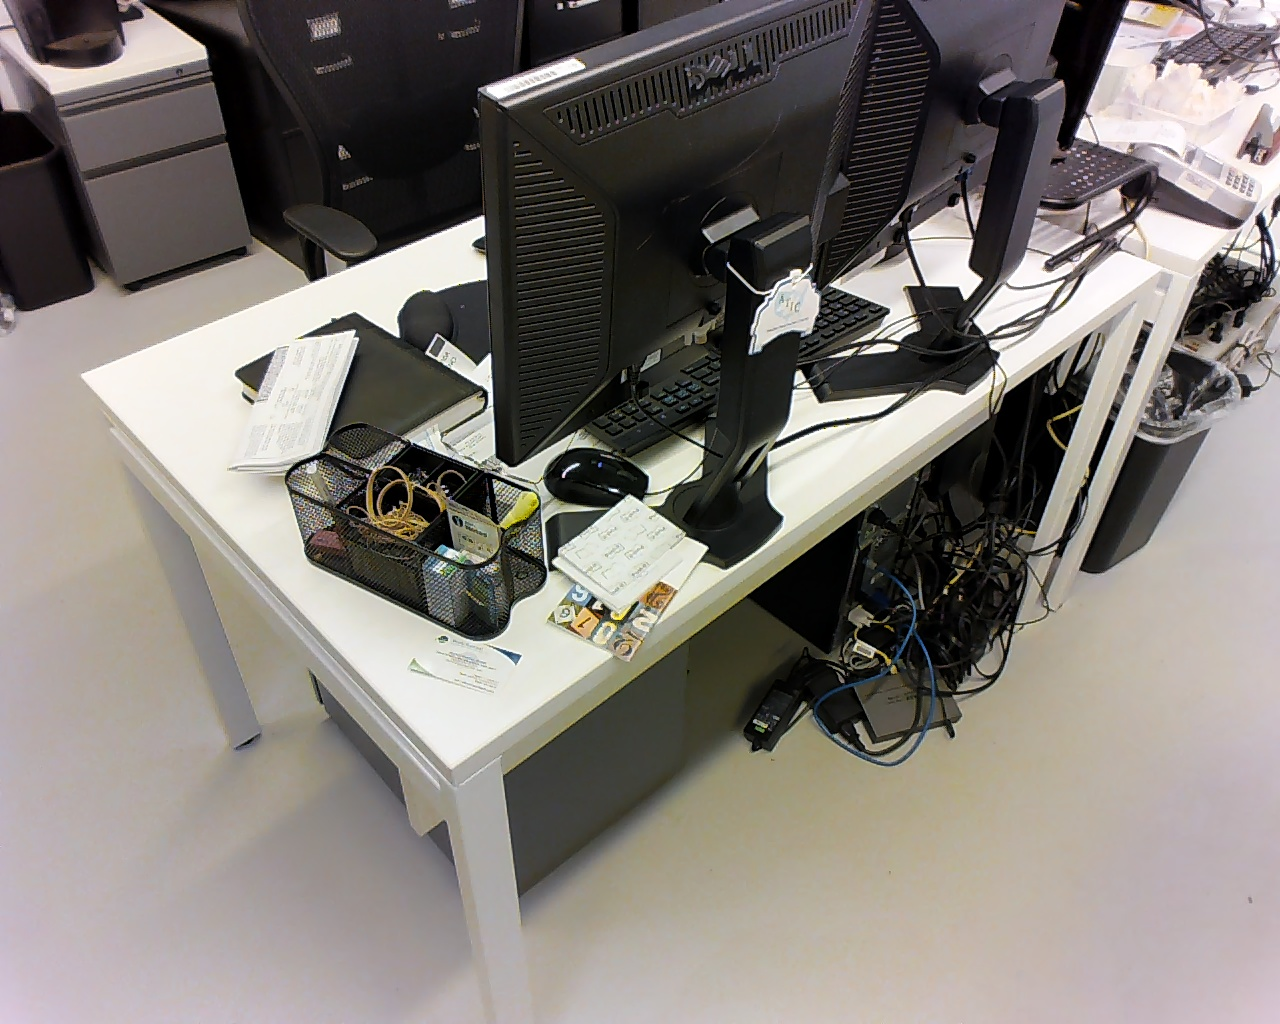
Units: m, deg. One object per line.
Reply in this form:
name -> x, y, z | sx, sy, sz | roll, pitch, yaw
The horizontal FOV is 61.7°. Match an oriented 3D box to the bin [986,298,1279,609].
bin -> 0.930, -0.120, 2.030 | 0.290, 0.360, 0.400 | 34, 52, 31
